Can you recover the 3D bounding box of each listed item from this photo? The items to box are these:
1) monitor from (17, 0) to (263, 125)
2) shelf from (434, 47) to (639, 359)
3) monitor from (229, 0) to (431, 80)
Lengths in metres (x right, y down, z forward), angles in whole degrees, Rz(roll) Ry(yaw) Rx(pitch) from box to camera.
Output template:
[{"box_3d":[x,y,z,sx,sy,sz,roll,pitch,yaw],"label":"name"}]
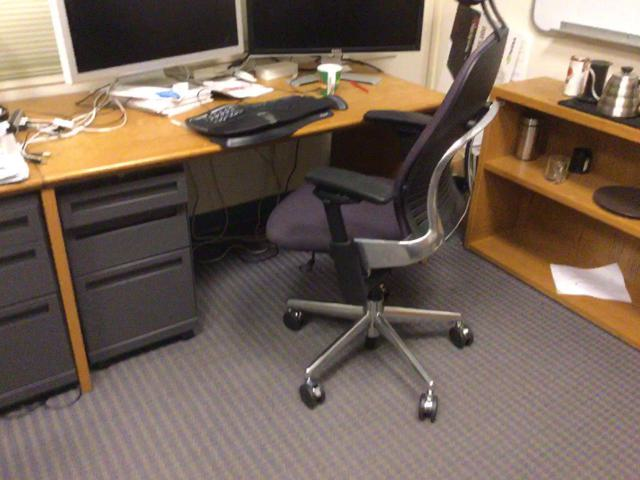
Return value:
[{"box_3d":[-0.520,-0.710,1.800,0.190,0.530,0.730,26,37,37],"label":"monitor"},{"box_3d":[1.250,-0.010,1.840,0.410,0.810,1.950,-17,34,-31],"label":"shelf"},{"box_3d":[0.030,-0.890,2.140,0.720,0.530,0.220,-3,29,-10],"label":"monitor"}]
